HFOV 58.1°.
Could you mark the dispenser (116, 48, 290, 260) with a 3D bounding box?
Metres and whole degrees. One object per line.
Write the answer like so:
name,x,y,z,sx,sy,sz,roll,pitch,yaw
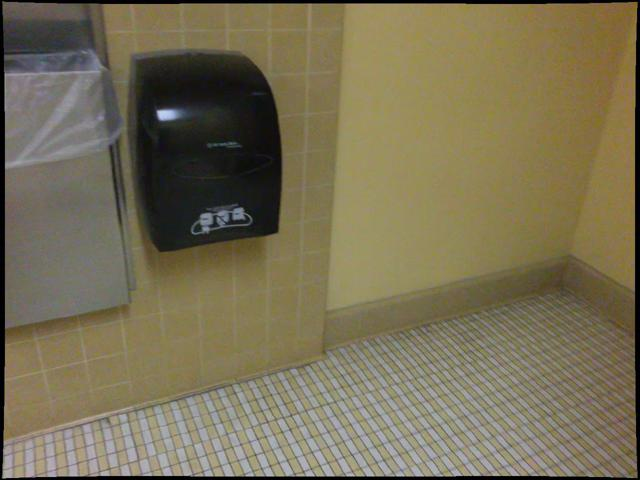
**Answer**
dispenser,-0.279,-0.221,1.390,0.319,0.411,0.260,-11,32,-26
